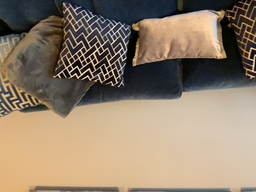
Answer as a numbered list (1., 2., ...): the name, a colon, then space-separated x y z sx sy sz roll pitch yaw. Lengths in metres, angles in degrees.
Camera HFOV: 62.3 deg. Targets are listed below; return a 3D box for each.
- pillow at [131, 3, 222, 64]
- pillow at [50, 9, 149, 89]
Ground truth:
1. pillow: 0.260 -0.350 1.230 0.460 0.220 0.200 -3 153 8
2. pillow: -0.160 -0.270 1.220 0.460 0.310 0.200 19 118 -21
